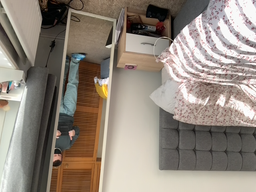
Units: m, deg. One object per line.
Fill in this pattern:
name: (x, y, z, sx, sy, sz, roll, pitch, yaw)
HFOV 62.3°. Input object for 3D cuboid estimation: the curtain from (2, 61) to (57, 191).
curtain: (-0.690, 0.830, 1.390, 0.200, 2.100, 0.380, 4, 165, -13)

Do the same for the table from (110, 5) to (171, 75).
table: (0.090, -0.460, 1.850, 0.410, 0.390, 0.420, 4, 165, -13)
